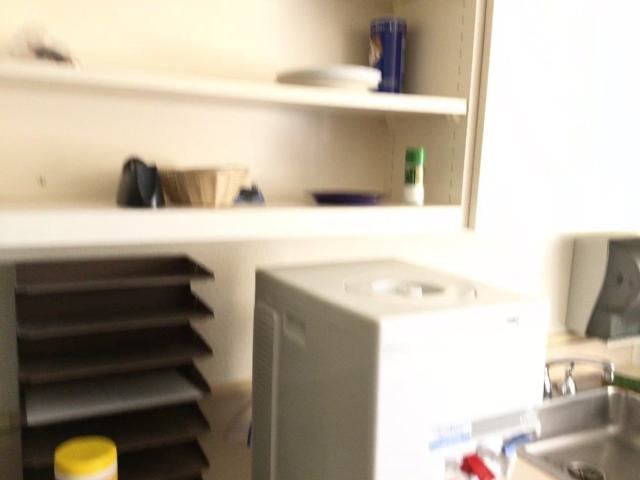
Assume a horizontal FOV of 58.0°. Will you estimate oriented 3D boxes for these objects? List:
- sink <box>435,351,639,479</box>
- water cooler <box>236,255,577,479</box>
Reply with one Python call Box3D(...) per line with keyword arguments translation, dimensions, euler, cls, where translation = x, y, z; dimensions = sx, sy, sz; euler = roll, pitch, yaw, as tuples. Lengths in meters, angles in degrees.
Box3D(translation=(0.720, 0.500, 1.440), dimensions=(0.630, 0.240, 0.550), euler=(0, 6, -26), cls="sink")
Box3D(translation=(0.100, 0.280, 0.960), dimensions=(0.340, 0.450, 0.450), euler=(0, 6, -26), cls="water cooler")
